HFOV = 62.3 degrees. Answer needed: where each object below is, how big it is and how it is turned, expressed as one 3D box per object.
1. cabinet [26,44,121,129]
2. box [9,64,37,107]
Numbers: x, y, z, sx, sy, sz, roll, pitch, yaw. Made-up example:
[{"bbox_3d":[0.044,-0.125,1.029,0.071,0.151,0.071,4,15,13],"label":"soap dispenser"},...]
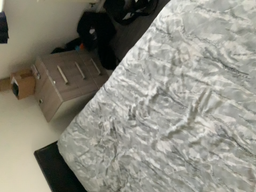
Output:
[{"bbox_3d":[-0.580,-0.100,2.200,0.470,0.670,0.640,59,139,10],"label":"cabinet"},{"bbox_3d":[-1.020,-0.100,2.050,0.230,0.150,0.310,48,136,21],"label":"box"}]
